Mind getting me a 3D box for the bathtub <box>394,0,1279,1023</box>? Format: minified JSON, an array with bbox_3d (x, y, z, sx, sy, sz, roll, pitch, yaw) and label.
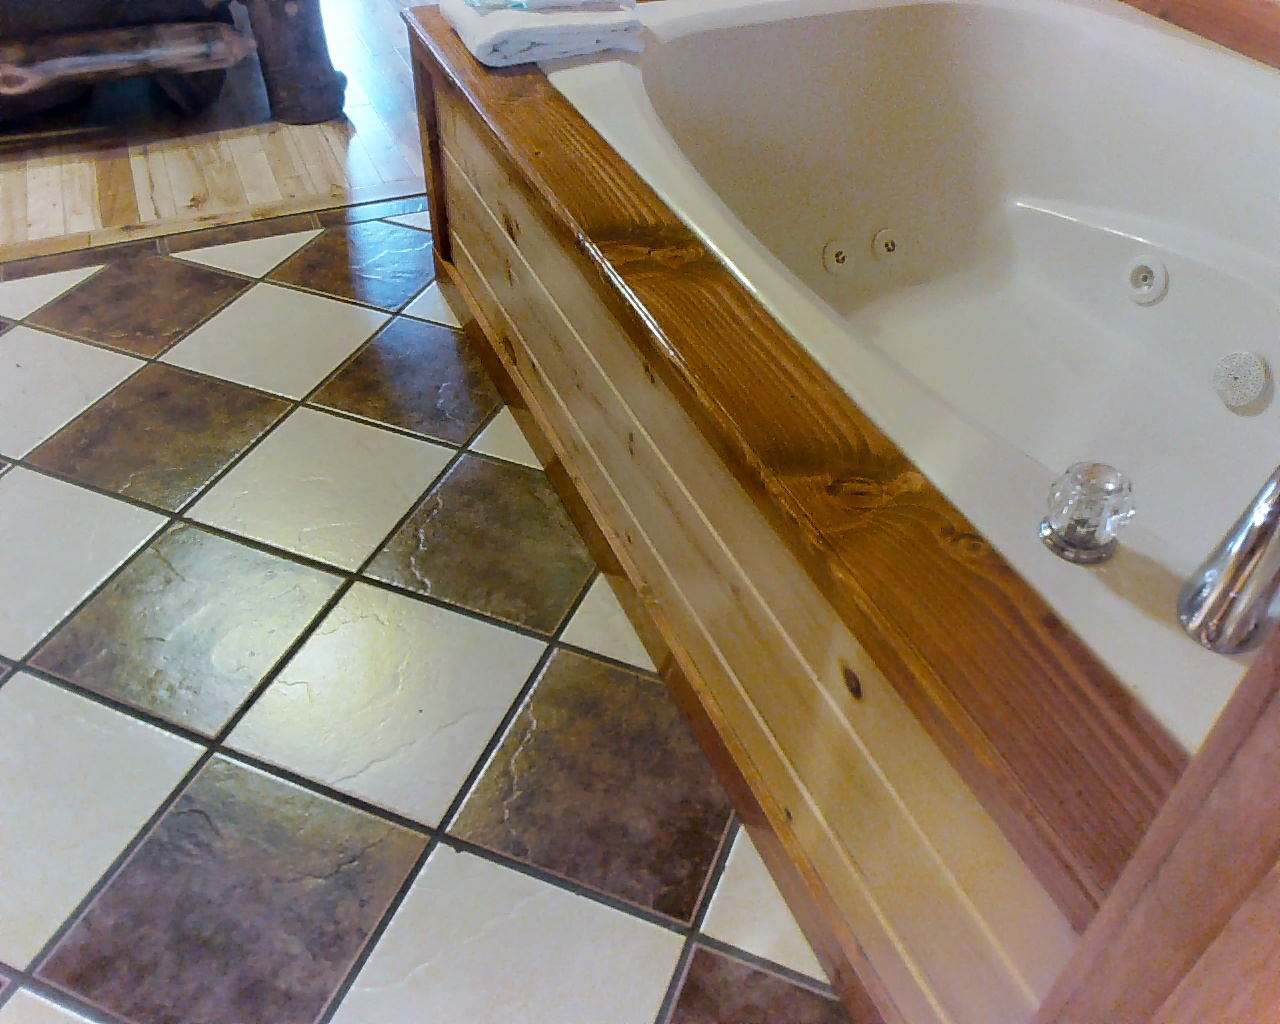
[{"bbox_3d":[0.550,-0.310,1.690,1.370,0.590,1.930,-15,45,-17],"label":"bathtub"}]
